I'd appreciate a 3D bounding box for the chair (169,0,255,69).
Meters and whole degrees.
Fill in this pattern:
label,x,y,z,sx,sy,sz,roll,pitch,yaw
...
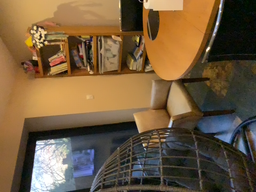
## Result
label,x,y,z,sx,sy,sz,roll,pitch,yaw
chair,0.760,-0.470,1.300,0.450,0.820,0.420,-114,24,-53

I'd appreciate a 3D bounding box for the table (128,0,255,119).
label,x,y,z,sx,sy,sz,roll,pitch,yaw
table,0.670,-0.910,1.670,1.820,0.820,1.340,104,157,-50

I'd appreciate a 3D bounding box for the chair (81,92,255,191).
label,x,y,z,sx,sy,sz,roll,pitch,yaw
chair,0.460,0.640,1.500,0.960,1.460,0.840,-110,21,-47

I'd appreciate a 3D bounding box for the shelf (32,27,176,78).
label,x,y,z,sx,sy,sz,roll,pitch,yaw
shelf,-0.310,-0.660,3.160,0.300,1.950,0.620,-111,22,-49

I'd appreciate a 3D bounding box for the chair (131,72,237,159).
label,x,y,z,sx,sy,sz,roll,pitch,yaw
chair,0.540,0.190,2.360,0.620,0.820,0.640,-110,21,-46
